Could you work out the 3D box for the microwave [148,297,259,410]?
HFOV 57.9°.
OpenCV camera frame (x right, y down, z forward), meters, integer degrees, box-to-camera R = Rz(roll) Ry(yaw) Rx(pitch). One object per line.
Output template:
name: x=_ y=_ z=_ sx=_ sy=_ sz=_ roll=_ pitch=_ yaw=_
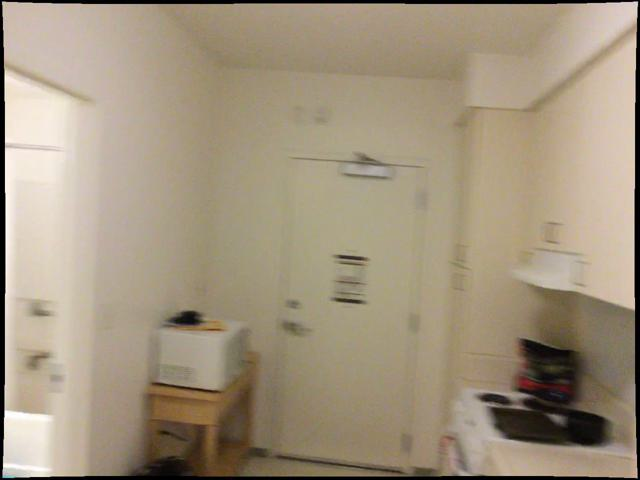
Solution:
microwave: x=-0.629 y=0.611 z=3.270 sx=0.410 sy=0.440 sz=0.660 roll=5 pitch=3 yaw=6
